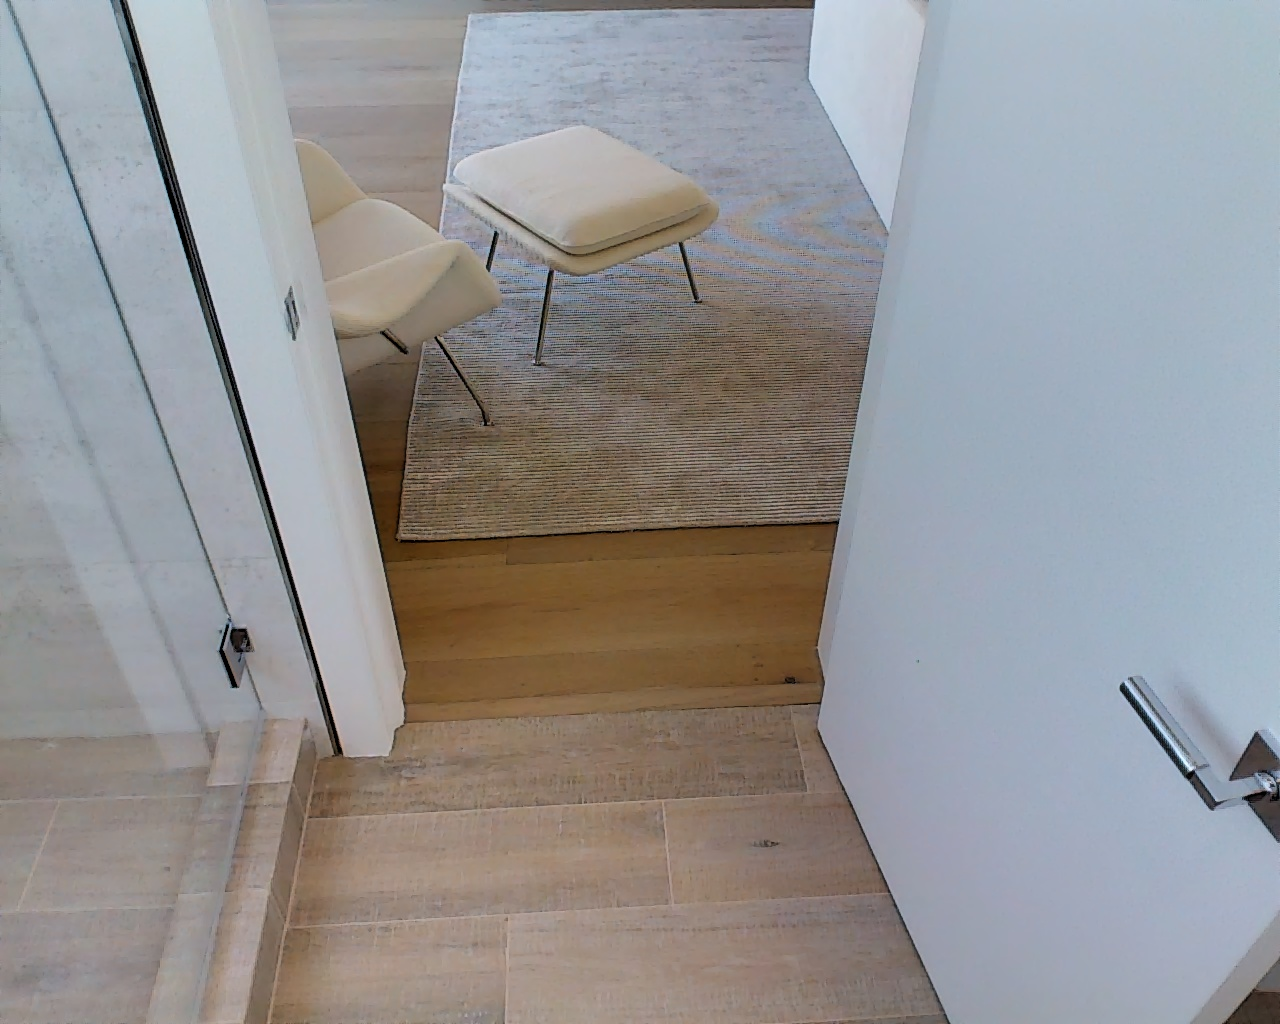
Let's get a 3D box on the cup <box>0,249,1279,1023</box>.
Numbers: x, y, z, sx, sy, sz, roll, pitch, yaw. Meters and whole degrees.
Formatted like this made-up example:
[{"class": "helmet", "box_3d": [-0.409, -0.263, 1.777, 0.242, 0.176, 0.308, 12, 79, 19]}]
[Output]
[{"class": "cup", "box_3d": [0.220, 0.360, 1.280, 2.150, 0.760, 1.250, -2, 44, -3]}]
